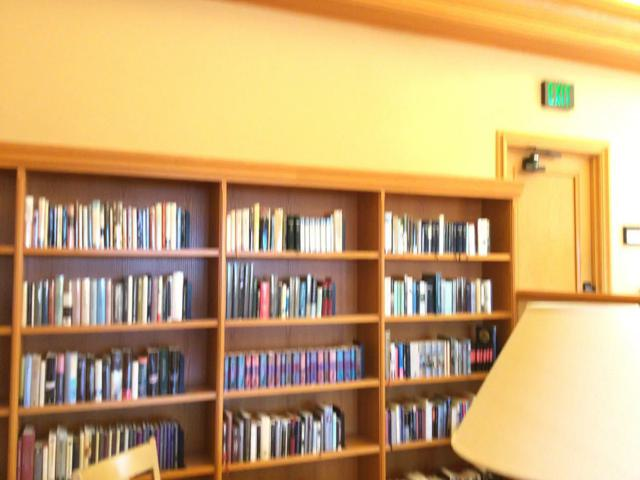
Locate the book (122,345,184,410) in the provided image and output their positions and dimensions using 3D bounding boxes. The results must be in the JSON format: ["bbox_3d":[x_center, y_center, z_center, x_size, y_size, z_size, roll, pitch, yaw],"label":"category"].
[{"bbox_3d":[-0.850,0.690,2.930,0.270,0.270,0.220,-1,-5,-22],"label":"book"}]

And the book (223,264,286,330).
[{"bbox_3d":[-0.350,0.300,3.080,0.280,0.330,0.200,-1,-5,-22],"label":"book"}]

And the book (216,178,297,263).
[{"bbox_3d":[-0.340,-0.100,3.080,0.390,0.430,0.140,-1,-5,-22],"label":"book"}]
